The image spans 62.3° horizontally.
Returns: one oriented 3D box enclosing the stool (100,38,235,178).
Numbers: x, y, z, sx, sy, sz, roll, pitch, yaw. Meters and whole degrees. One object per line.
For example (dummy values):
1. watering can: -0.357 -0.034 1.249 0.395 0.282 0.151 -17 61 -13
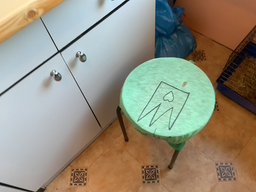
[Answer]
1. stool: 0.150 0.080 0.940 0.330 0.460 0.330 -42 66 -17
